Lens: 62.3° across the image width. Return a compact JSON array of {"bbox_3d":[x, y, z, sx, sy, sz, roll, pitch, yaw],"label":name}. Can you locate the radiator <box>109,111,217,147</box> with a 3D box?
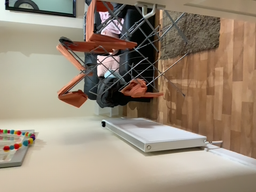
[{"bbox_3d":[0.270,0.300,2.250,1.100,0.670,0.160,-177,87,-69],"label":"radiator"}]
